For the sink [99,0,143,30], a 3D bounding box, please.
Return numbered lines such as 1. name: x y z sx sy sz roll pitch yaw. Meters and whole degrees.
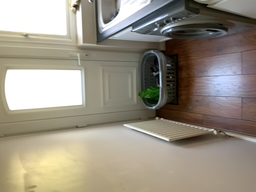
1. sink: -0.080 -0.860 1.910 0.430 0.220 0.410 6 98 61
